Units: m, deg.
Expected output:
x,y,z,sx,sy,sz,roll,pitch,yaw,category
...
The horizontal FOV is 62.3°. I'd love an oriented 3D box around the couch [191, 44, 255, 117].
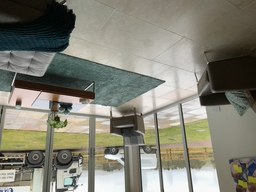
x,y,z,sx,sy,sz,roll,pitch,yaw,category
1.450,-0.170,2.950,0.880,0.720,0.810,-4,161,3,couch
